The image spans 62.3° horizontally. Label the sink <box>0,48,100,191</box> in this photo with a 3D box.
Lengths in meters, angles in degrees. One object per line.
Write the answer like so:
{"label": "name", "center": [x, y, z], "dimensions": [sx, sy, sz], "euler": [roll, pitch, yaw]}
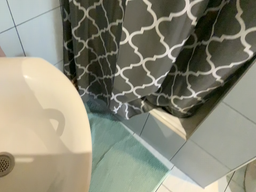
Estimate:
{"label": "sink", "center": [-0.320, 0.160, 0.570], "dimensions": [0.440, 0.190, 0.610], "euler": [-5, 55, -14]}
